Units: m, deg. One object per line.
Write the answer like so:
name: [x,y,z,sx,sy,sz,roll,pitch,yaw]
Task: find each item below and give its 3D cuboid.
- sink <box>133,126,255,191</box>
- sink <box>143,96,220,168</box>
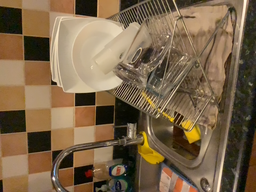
sink: [0.210,0.410,0.880,0.510,0.160,0.410,-155,65,-63]
sink: [0.190,0.120,0.840,0.300,0.120,0.180,-155,65,-63]
